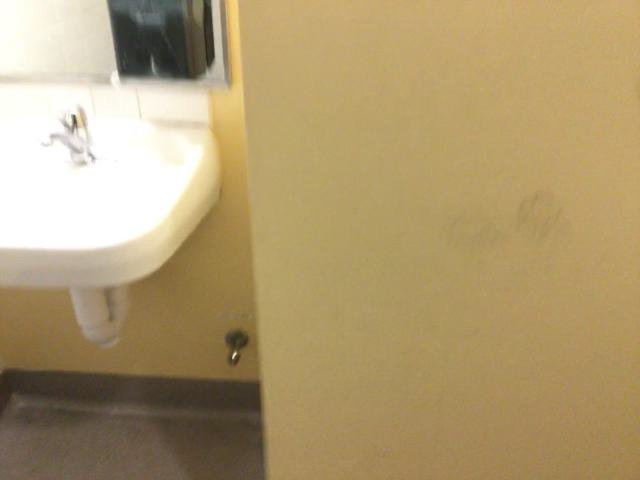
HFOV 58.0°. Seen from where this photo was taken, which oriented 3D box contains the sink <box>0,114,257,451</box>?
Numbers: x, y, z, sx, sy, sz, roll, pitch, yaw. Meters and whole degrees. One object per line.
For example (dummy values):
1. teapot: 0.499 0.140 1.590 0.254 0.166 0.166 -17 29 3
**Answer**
1. sink: -0.480 0.060 1.200 0.590 0.510 0.470 1 30 4
